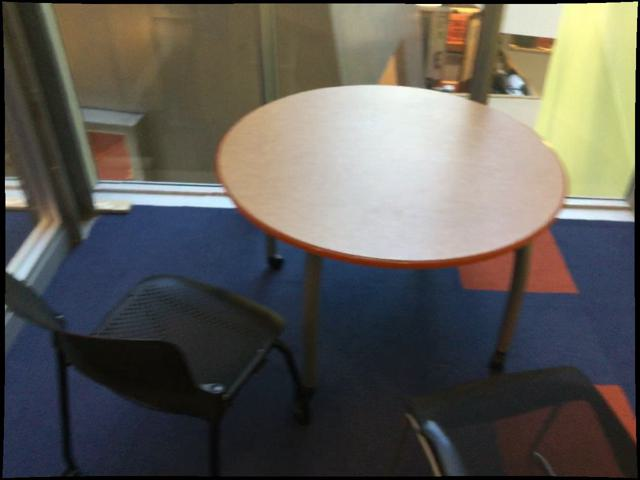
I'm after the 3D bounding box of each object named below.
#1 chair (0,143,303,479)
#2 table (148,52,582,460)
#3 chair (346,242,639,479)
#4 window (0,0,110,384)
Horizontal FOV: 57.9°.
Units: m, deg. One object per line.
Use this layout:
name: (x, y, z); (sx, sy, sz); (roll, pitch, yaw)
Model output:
chair: (-0.390, 0.290, 1.490); (0.490, 0.790, 0.620); (15, 41, 16)
table: (0.220, -0.050, 2.010); (1.079, 0.680, 1.080); (12, 41, 13)
chair: (0.480, 0.521, 1.250); (0.699, 0.750, 0.640); (-5, 40, -8)
window: (-1.139, -0.100, 1.830); (0.260, 0.941, 1.381); (4, 40, 3)
